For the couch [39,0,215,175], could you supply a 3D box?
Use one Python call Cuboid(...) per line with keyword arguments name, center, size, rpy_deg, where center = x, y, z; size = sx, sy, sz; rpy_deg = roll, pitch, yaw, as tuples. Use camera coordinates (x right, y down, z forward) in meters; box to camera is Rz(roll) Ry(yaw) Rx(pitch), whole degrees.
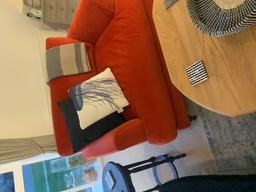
Cuboid(name="couch", center=(-0.160, -0.160, 1.850), size=(1.040, 0.830, 1.380), rpy_deg=(-36, 64, 53))
